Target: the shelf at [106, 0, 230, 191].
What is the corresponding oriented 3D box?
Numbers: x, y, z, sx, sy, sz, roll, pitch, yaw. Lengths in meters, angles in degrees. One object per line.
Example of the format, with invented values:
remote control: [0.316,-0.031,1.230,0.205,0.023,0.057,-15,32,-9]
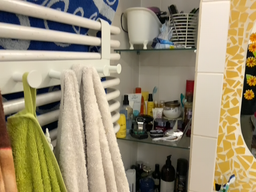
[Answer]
shelf: [0.160,-0.050,0.850,0.370,1.130,0.370,5,12,20]
